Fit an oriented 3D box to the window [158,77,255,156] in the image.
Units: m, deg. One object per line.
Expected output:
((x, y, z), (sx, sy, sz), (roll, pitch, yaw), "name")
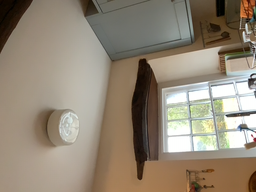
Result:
((0.830, 0.200, 2.160), (0.080, 1.020, 0.800), (61, -151, -48), "window")
